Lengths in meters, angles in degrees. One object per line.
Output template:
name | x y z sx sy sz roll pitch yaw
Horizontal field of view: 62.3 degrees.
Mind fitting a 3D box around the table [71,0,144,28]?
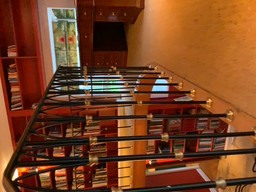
table | -0.260 -1.180 2.510 0.490 0.790 0.710 -126 35 -69
